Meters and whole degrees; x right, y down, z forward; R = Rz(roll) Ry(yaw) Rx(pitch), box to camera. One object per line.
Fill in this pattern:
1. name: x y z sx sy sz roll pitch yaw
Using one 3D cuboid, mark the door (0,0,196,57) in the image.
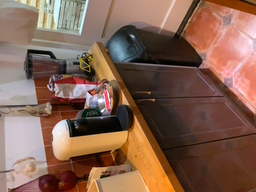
1. door: -0.370 -0.650 1.420 0.730 1.910 0.060 -59 43 41
